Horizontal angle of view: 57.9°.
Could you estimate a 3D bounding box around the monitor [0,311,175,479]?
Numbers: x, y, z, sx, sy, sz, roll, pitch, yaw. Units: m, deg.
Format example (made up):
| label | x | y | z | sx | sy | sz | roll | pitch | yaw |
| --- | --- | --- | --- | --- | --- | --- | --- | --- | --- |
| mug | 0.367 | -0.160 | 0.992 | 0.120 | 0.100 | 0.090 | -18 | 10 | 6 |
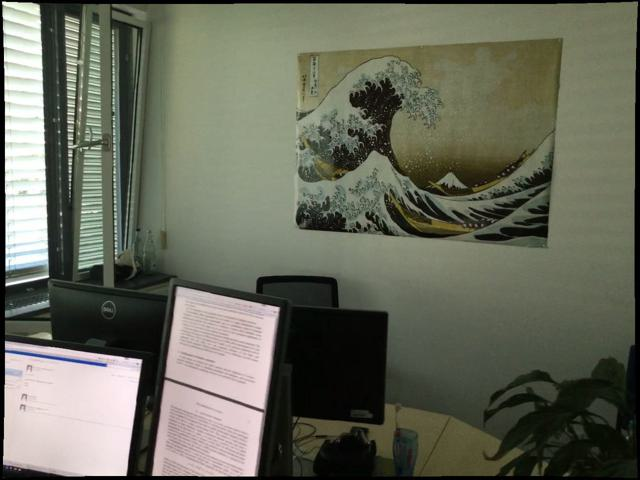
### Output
| label | x | y | z | sx | sy | sz | roll | pitch | yaw |
| --- | --- | --- | --- | --- | --- | --- | --- | --- | --- |
| monitor | -0.719 | 0.450 | 1.570 | 0.589 | 0.420 | 0.220 | 3 | 10 | 17 |
